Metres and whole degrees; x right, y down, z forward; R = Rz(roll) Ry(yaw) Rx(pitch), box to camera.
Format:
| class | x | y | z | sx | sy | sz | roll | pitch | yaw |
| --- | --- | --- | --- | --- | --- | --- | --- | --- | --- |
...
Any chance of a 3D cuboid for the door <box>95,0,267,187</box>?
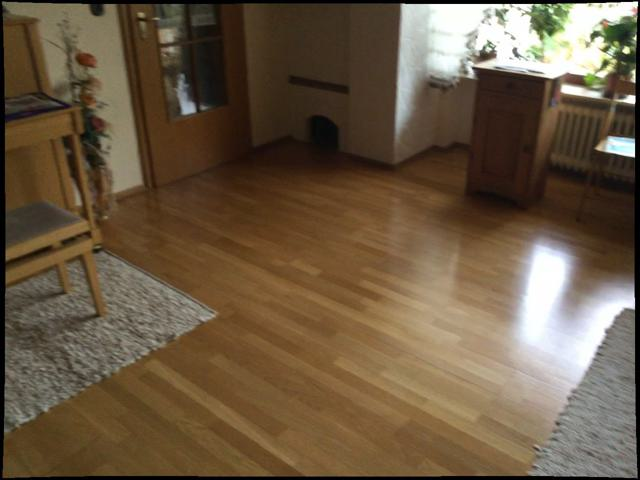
| class | x | y | z | sx | sy | sz | roll | pitch | yaw |
| --- | --- | --- | --- | --- | --- | --- | --- | --- | --- |
| door | -0.809 | -1.421 | 3.570 | 0.210 | 1.952 | 1.130 | 23 | 35 | 33 |
